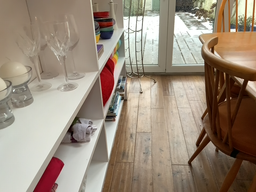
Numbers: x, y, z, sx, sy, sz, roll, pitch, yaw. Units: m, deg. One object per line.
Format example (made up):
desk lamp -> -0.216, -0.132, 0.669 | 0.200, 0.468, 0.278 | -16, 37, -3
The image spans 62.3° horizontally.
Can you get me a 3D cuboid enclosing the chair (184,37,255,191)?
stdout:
chair -> 0.560, 0.160, 1.020 | 0.430, 0.770, 0.450 | 0, 28, 5
